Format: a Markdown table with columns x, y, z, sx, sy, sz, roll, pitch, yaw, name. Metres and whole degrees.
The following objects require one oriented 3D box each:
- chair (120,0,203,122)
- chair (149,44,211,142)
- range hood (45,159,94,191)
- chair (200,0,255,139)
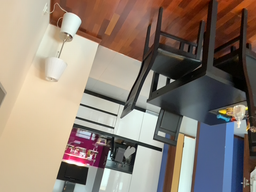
| x | y | z | sx | sy | sz | roll | pitch | yaw | name |
| --- | --- | --- | --- | --- | --- | --- | --- | --- | --- |
| 0.330 | -0.320 | 2.000 | 0.520 | 0.970 | 0.370 | 19 | 159 | -16 | chair |
| 0.630 | -0.010 | 2.530 | 0.350 | 1.040 | 0.500 | 23 | 157 | -26 | chair |
| -1.230 | 1.850 | 4.350 | 0.780 | 0.930 | 0.300 | 18 | 159 | -14 | range hood |
| 0.970 | -0.210 | 1.810 | 0.350 | 1.050 | 0.490 | 21 | 158 | -20 | chair |
